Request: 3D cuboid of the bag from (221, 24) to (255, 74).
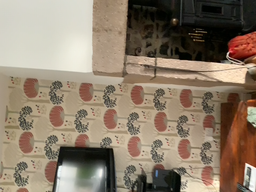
[{"bbox_3d":[1.110,-0.420,2.010,0.390,0.250,0.350,159,115,-82],"label":"bag"}]
